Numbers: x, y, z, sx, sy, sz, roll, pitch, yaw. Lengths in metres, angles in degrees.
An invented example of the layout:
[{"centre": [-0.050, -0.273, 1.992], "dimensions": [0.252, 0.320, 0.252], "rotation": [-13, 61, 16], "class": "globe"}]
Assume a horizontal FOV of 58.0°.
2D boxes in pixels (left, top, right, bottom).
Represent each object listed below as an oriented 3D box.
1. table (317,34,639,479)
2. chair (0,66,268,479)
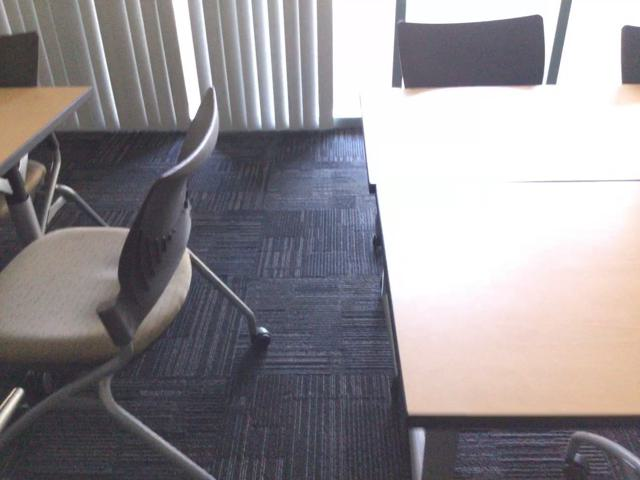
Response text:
[{"centre": [0.840, 0.150, 1.360], "dimensions": [1.600, 0.880, 1.310], "rotation": [4, 31, 3], "class": "table"}, {"centre": [-0.490, 0.110, 1.400], "dimensions": [0.620, 0.850, 0.670], "rotation": [4, 31, 3], "class": "chair"}]
